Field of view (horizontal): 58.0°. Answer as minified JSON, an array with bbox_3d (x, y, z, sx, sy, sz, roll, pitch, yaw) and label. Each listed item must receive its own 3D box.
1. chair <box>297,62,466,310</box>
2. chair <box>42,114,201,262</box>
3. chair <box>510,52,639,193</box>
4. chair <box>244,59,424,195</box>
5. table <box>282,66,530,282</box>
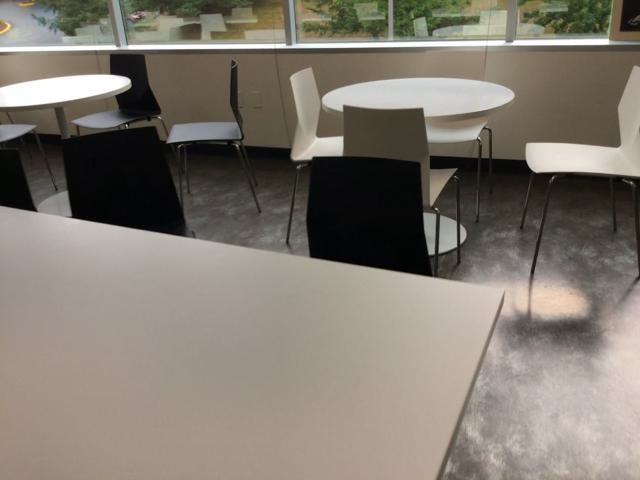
[{"bbox_3d":[0.280,-0.260,2.480,0.510,0.870,0.550,9,29,23],"label":"chair"},{"bbox_3d":[-0.730,-0.210,2.190,0.370,0.430,0.330,9,29,23],"label":"chair"},{"bbox_3d":[1.160,-0.530,2.500,0.530,0.450,0.500,9,29,23],"label":"chair"},{"bbox_3d":[0.100,-0.590,2.830,0.620,0.440,0.710,10,29,23],"label":"chair"},{"bbox_3d":[0.460,-0.400,2.900,0.940,0.730,0.880,9,29,23],"label":"table"}]
